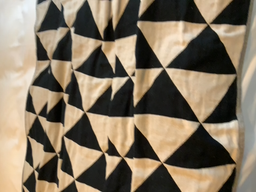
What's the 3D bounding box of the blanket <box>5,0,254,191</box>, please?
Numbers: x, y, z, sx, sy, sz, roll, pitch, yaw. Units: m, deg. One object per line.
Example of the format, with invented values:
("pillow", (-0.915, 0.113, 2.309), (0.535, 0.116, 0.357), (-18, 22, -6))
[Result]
("blanket", (-0.140, 0.030, 0.620), (0.810, 0.070, 1.480), (10, 98, 38))
